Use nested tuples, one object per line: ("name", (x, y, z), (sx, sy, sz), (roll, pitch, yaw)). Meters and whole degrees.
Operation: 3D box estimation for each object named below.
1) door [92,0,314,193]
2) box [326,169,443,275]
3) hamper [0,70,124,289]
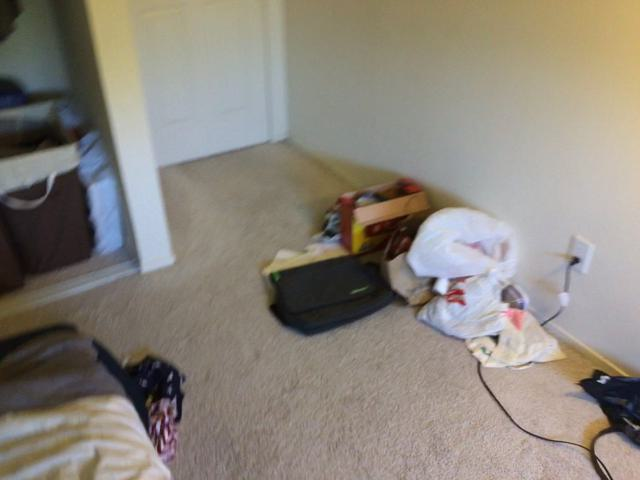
("door", (-0.550, -1.330, 2.650), (0.980, 2.090, 0.290), (-18, 34, -25))
("box", (0.270, -0.090, 2.500), (0.350, 0.260, 0.350), (-18, 34, -25))
("hamper", (-1.130, -0.270, 2.390), (0.370, 0.690, 0.540), (-18, 34, -25))
